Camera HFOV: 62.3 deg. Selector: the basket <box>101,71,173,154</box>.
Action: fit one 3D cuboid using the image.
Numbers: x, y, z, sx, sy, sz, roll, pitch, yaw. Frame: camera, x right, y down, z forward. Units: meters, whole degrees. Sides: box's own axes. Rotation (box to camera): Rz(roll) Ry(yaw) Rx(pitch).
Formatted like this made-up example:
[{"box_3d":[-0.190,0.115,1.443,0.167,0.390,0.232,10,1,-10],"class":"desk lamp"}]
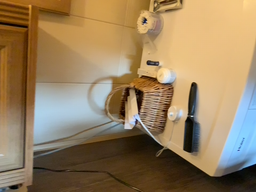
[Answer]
[{"box_3d":[0.020,0.050,0.880,0.280,0.110,0.250,28,113,50],"class":"basket"}]
